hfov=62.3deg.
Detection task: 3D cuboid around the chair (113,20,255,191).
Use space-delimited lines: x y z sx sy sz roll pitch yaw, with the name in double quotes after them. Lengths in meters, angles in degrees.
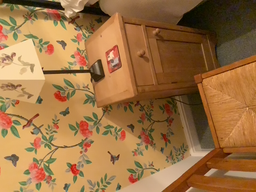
0.480 0.080 0.850 0.450 0.900 0.480 -19 81 51 "chair"
